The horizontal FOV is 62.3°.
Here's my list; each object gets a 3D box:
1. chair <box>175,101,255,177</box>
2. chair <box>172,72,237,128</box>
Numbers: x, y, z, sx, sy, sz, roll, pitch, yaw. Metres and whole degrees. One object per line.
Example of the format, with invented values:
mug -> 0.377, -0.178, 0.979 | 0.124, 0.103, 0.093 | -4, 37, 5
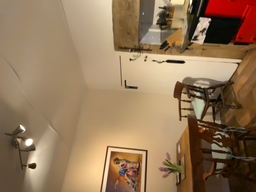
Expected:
chair -> 1.000, 0.480, 2.250 | 0.660, 0.880, 0.550 | 88, -173, -60
chair -> 1.150, 0.050, 3.360 | 0.520, 0.770, 0.660 | 91, -175, -45
